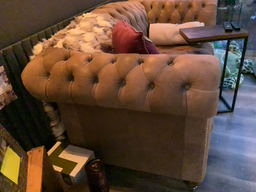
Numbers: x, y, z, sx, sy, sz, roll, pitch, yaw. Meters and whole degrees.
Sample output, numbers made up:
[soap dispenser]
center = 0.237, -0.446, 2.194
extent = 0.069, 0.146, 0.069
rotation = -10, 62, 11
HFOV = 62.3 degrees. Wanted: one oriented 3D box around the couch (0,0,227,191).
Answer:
[couch]
center = 0.150, -0.220, 1.600
extent = 0.900, 0.870, 1.610
rotation = 6, 35, 18
